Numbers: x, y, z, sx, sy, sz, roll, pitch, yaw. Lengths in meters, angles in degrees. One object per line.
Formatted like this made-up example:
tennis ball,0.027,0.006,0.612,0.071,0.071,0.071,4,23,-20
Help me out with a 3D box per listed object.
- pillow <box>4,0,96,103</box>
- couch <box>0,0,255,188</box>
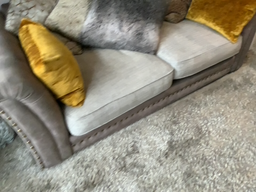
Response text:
pillow,-0.460,-0.210,1.230,0.260,0.420,0.530,-25,10,-24
couch,0.010,-0.490,1.700,2.130,0.830,1.070,-25,46,-25
